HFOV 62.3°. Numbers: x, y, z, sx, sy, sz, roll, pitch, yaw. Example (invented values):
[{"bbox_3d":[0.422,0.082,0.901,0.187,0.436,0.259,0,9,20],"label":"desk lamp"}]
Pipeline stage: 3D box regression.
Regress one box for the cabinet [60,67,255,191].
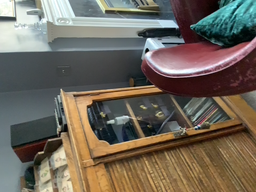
[{"bbox_3d":[0.290,0.320,1.270,0.920,1.180,0.440,63,148,36],"label":"cabinet"}]
